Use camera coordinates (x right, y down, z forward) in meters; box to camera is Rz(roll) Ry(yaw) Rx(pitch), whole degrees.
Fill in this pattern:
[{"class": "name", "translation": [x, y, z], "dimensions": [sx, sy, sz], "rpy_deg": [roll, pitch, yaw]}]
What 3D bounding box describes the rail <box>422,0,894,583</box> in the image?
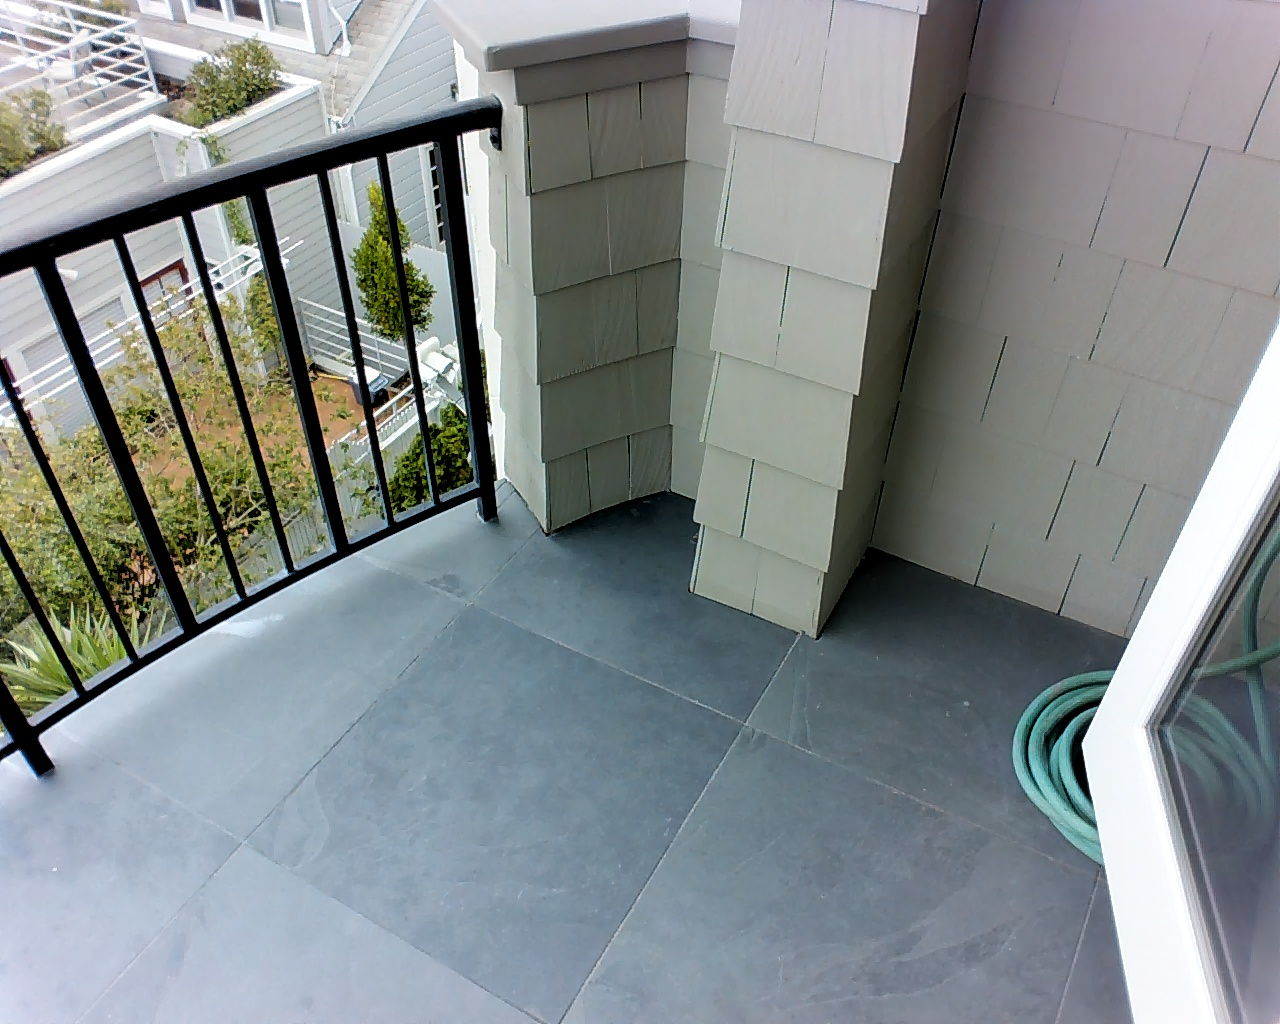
[{"class": "rail", "translation": [0.000, -0.460, 2.050], "dimensions": [0.660, 1.090, 0.440], "rpy_deg": [-10, 43, -12]}]
